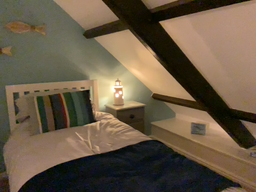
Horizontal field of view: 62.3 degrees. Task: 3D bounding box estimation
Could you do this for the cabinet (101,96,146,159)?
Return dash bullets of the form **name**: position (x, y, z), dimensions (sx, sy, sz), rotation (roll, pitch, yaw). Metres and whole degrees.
- **cabinet**: position (-0.060, 0.380, 2.770), dimensions (0.440, 0.670, 0.370), rotation (-8, 12, -34)
